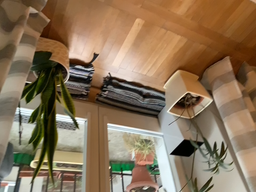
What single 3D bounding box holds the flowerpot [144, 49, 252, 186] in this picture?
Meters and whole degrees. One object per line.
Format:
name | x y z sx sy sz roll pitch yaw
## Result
flowerpot | 0.360 0.110 1.320 0.290 0.760 0.330 12 136 -22
